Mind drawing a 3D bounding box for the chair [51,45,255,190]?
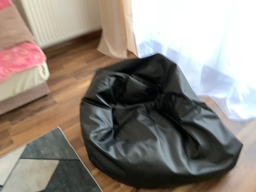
[{"bbox_3d":[0.130,0.070,1.360,0.910,0.380,0.880,-2,41,1],"label":"chair"}]
